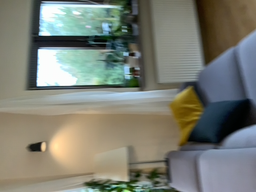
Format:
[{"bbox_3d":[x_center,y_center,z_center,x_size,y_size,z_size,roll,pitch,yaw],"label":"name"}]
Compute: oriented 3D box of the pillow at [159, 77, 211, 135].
[{"bbox_3d":[0.540,0.140,2.180,0.670,0.220,0.470,121,146,-75],"label":"pillow"}]
